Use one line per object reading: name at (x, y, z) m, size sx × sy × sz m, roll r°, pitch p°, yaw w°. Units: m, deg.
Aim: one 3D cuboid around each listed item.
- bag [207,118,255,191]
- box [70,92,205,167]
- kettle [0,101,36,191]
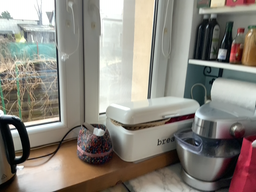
bag at (0.430, 0.250, 0.760) m, size 0.170 × 0.280 × 0.160 m, roll -5°, pitch 18°, yaw -27°
box at (0.040, 0.120, 0.980) m, size 0.550 × 0.180 × 0.260 m, roll -4°, pitch 18°, yaw -25°
kettle at (-0.400, 0.160, 0.720) m, size 0.130 × 0.240 × 0.160 m, roll -6°, pitch 19°, yaw -29°
